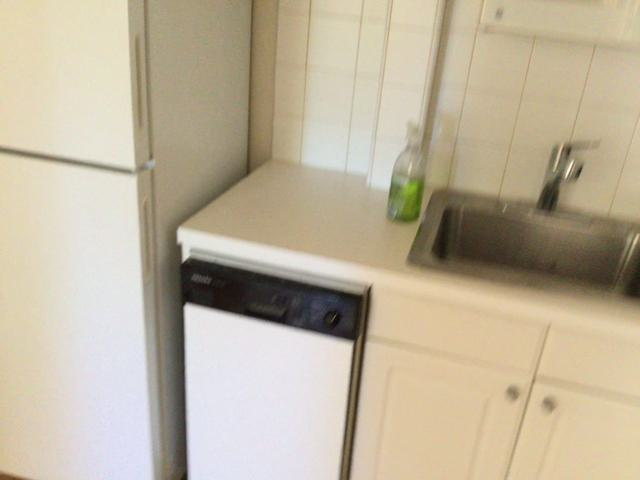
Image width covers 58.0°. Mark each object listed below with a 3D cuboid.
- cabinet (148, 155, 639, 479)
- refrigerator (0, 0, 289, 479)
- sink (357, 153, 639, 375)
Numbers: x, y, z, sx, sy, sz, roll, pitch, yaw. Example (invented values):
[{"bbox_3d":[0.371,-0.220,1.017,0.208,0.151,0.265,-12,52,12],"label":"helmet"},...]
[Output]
[{"bbox_3d":[0.310,0.380,1.630,1.340,0.970,0.640,10,23,16],"label":"cabinet"},{"bbox_3d":[-0.630,-0.110,1.670,0.800,1.690,0.830,10,23,16],"label":"refrigerator"},{"bbox_3d":[0.510,0.020,1.520,0.700,0.320,0.490,10,23,16],"label":"sink"}]
